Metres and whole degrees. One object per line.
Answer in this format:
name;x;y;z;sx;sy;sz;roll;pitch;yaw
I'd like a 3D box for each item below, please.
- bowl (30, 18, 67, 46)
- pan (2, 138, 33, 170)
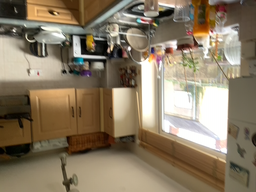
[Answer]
bowl;-0.880;-0.680;2.310;0.300;0.180;0.500;-4;-174;-29
pan;-1.250;0.640;2.400;0.270;0.230;0.280;-5;-173;-32
